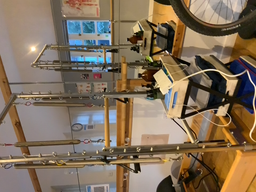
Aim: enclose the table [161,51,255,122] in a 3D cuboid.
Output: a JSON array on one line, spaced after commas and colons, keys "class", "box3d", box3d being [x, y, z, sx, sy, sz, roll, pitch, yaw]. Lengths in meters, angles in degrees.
[{"class": "table", "box3d": [0.650, -0.100, 1.520, 0.490, 0.680, 0.300, -103, 13, -59]}]
